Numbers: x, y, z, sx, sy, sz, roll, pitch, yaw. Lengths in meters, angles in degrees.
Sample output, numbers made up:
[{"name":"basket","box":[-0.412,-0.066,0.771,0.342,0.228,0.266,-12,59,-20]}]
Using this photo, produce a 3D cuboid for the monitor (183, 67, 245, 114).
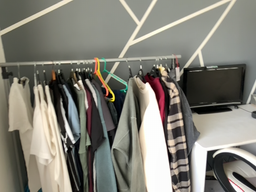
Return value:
[{"name":"monitor","box":[0.700,-0.050,1.730,0.520,0.340,0.040,-5,15,-12]}]
